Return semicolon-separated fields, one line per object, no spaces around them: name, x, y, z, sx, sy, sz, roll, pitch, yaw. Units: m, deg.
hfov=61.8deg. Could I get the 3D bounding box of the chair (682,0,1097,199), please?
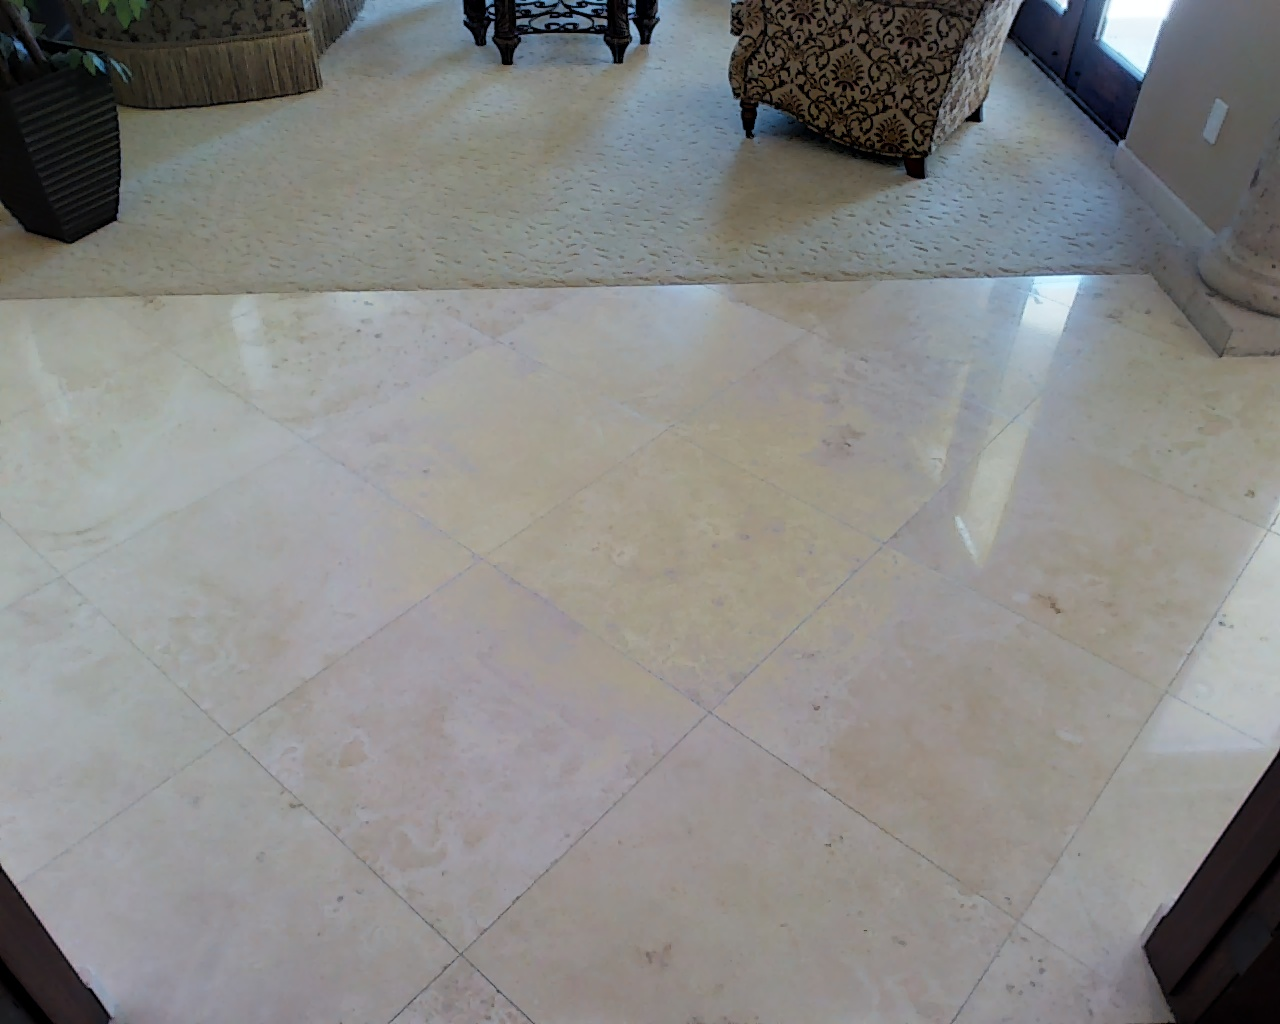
chair;0.900;-1.839;3.680;1.170;0.960;0.910;22;45;21
